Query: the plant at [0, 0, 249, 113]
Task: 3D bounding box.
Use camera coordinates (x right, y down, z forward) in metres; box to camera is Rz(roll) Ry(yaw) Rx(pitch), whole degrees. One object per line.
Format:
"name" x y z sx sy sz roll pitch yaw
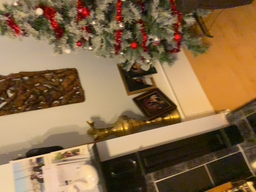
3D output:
"plant" -0.170 -0.580 1.680 0.850 1.680 0.900 125 131 -59
